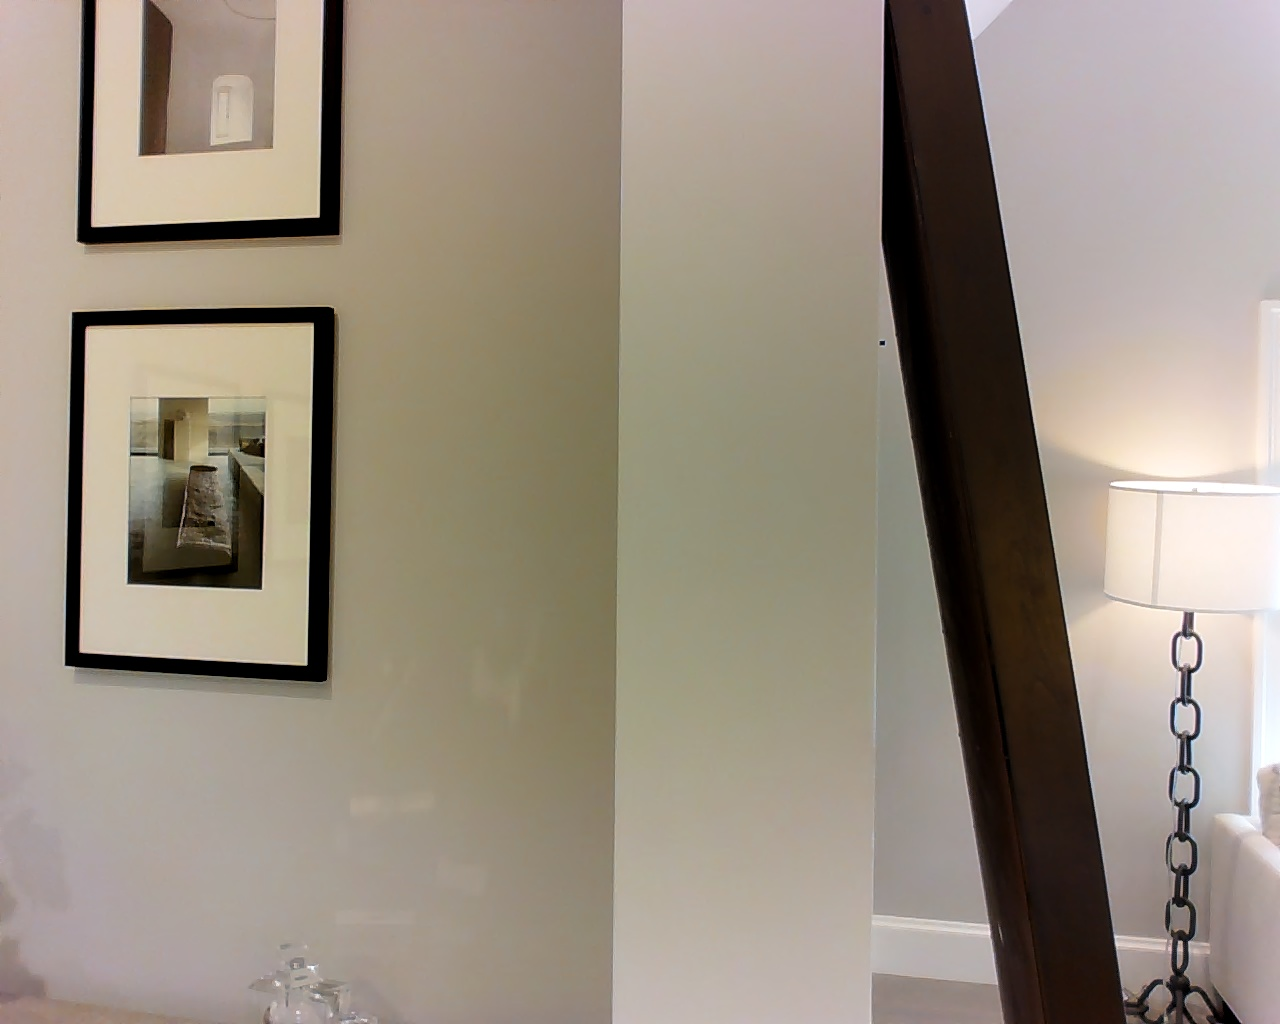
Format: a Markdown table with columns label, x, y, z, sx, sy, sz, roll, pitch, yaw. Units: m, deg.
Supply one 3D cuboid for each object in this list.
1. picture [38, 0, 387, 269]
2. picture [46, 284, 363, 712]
| label | x | y | z | sx | sy | sz | roll | pitch | yaw |
| --- | --- | --- | --- | --- | --- | --- | --- | --- | --- |
| picture | -0.590 | -0.630 | 1.470 | 0.510 | 0.570 | 0.030 | 1 | 0 | 12 |
| picture | -0.600 | -0.020 | 1.470 | 0.460 | 0.560 | 0.030 | 1 | 0 | 12 |
